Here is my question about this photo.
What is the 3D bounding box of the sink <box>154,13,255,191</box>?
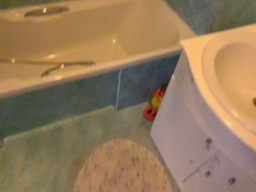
[{"bbox_3d":[0.480,0.000,0.760,0.500,0.200,0.630,-17,57,-19],"label":"sink"}]

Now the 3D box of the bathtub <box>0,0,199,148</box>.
[{"bbox_3d":[-0.520,-0.190,1.420,1.800,0.490,0.650,-17,57,-19],"label":"bathtub"}]
